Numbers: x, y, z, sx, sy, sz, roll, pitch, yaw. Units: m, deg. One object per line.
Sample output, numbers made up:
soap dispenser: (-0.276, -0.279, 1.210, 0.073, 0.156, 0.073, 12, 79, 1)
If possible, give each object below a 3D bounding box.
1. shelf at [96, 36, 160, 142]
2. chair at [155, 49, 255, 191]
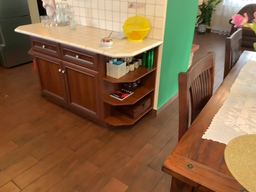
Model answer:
shelf: (0.010, -0.090, 2.110, 0.310, 0.860, 0.560, 20, 34, 30)
chair: (0.510, 0.320, 1.220, 0.490, 1.000, 0.480, 20, 34, 30)
